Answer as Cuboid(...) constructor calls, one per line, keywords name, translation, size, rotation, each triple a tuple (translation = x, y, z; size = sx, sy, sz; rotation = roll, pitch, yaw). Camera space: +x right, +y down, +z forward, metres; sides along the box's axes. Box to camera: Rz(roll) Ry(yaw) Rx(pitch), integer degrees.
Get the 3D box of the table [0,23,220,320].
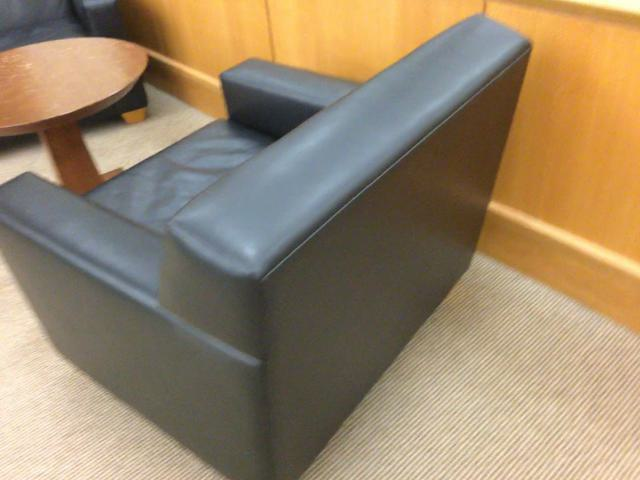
Cuboid(name="table", translation=(-0.860, -0.280, 1.960), size=(0.690, 0.580, 0.660), rotation=(-33, 47, -31))
